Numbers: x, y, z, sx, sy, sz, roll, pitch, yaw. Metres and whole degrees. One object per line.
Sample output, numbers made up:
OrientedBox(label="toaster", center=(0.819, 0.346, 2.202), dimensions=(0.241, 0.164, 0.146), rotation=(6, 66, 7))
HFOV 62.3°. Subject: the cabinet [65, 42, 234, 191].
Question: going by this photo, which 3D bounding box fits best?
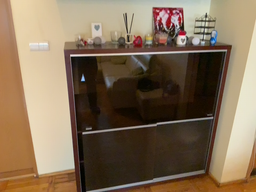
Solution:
OrientedBox(label="cabinet", center=(0.160, 0.220, 2.040), dimensions=(1.360, 1.370, 0.440), rotation=(-5, 22, -15))
